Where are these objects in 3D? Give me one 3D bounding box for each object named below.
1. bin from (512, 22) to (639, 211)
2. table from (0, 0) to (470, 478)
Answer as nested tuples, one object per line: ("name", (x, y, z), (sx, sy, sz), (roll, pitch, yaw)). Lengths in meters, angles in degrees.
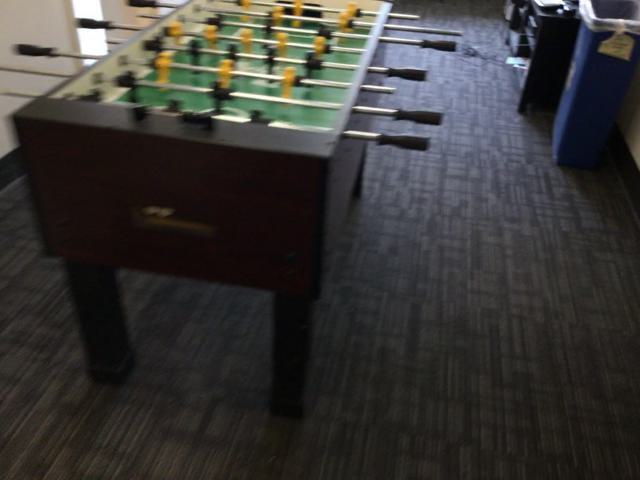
("bin", (1.330, -0.640, 2.970), (0.390, 0.750, 0.560), (11, 33, 4))
("table", (-0.260, -0.200, 2.010), (1.240, 0.950, 1.390), (11, 33, 4))
